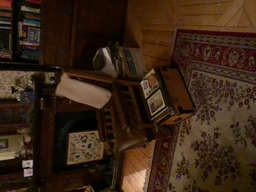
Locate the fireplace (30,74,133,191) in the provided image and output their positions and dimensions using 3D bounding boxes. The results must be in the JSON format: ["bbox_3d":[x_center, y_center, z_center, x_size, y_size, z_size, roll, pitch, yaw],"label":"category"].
[{"bbox_3d":[-0.770,0.730,3.180,0.780,1.190,1.960,31,118,55],"label":"fireplace"}]

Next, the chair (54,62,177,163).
[{"bbox_3d":[-0.190,0.190,2.350,0.730,1.020,0.800,-40,57,53],"label":"chair"}]
